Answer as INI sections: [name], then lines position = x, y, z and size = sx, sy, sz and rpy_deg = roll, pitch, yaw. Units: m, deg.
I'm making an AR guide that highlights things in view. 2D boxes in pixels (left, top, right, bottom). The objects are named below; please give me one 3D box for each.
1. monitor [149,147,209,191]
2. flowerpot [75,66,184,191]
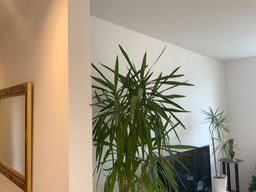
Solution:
[monitor]
position = 0.680, 1.060, 2.580
size = 1.230, 0.710, 0.060
rpy_deg = 3, -4, -44
[flowerpot]
position = 0.010, 0.600, 1.920
size = 0.710, 1.550, 0.660
rpy_deg = 3, -6, -44
